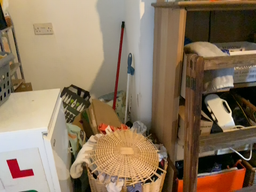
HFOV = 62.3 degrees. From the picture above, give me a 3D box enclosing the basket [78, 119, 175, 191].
[{"bbox_3d":[-0.020,0.570,1.350,0.450,0.630,0.540,-4,24,-5],"label":"basket"}]
